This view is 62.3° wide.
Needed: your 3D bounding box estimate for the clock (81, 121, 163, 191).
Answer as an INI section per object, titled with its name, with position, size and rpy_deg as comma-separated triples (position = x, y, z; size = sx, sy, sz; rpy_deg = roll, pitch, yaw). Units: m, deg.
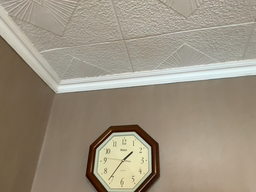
[clock]
position = -0.020, 0.270, 0.890
size = 0.310, 0.300, 0.080
rpy_deg = -5, -32, 12
